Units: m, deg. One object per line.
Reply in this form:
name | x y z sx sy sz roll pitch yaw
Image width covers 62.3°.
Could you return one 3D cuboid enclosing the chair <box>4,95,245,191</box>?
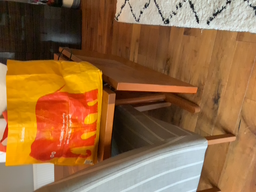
chair | -0.020 0.360 1.150 0.630 1.060 0.490 29 118 52
